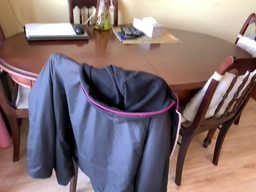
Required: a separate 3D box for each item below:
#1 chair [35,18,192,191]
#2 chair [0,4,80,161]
[{"bbox_3d":[-0.060,0.170,1.130,0.440,0.960,0.530,20,36,18],"label":"chair"},{"bbox_3d":[-0.600,-0.070,1.420,0.490,0.910,0.440,-4,36,-16],"label":"chair"}]
